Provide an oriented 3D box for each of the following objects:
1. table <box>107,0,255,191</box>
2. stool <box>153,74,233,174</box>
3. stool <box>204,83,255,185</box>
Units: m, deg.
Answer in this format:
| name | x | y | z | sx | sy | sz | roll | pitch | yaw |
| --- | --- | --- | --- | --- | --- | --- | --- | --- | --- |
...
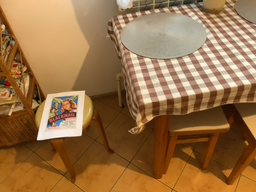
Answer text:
| name | x | y | z | sx | sy | sz | roll | pitch | yaw |
| --- | --- | --- | --- | --- | --- | --- | --- | --- | --- |
| table | 0.480 | -0.050 | 1.250 | 1.020 | 0.790 | 0.740 | -11 | 48 | -5 |
| stool | 0.330 | 0.180 | 1.260 | 0.310 | 0.490 | 0.360 | -3 | 47 | 2 |
| stool | 0.680 | 0.220 | 1.190 | 0.290 | 0.490 | 0.330 | -9 | 47 | -3 |
